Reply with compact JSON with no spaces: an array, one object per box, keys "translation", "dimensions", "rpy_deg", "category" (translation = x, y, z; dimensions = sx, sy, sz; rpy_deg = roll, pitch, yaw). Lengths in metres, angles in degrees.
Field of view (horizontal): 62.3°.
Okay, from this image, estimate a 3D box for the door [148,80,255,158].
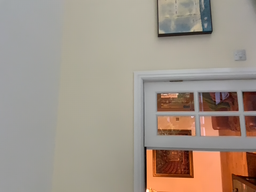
[{"translation":[1.120,0.180,1.680],"dimensions":[0.150,1.910,0.600],"rpy_deg":[57,-147,-76],"category":"door"}]
